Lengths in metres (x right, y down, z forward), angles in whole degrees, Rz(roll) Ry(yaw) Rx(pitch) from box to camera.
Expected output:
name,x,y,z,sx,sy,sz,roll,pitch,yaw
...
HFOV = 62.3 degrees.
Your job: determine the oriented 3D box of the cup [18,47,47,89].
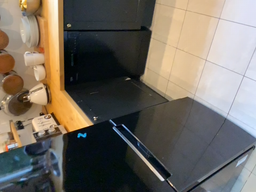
name,x,y,z,sx,sy,sz,roll,pitch,yaw
cup,-0.800,-0.240,1.790,0.180,0.160,0.290,39,131,41
